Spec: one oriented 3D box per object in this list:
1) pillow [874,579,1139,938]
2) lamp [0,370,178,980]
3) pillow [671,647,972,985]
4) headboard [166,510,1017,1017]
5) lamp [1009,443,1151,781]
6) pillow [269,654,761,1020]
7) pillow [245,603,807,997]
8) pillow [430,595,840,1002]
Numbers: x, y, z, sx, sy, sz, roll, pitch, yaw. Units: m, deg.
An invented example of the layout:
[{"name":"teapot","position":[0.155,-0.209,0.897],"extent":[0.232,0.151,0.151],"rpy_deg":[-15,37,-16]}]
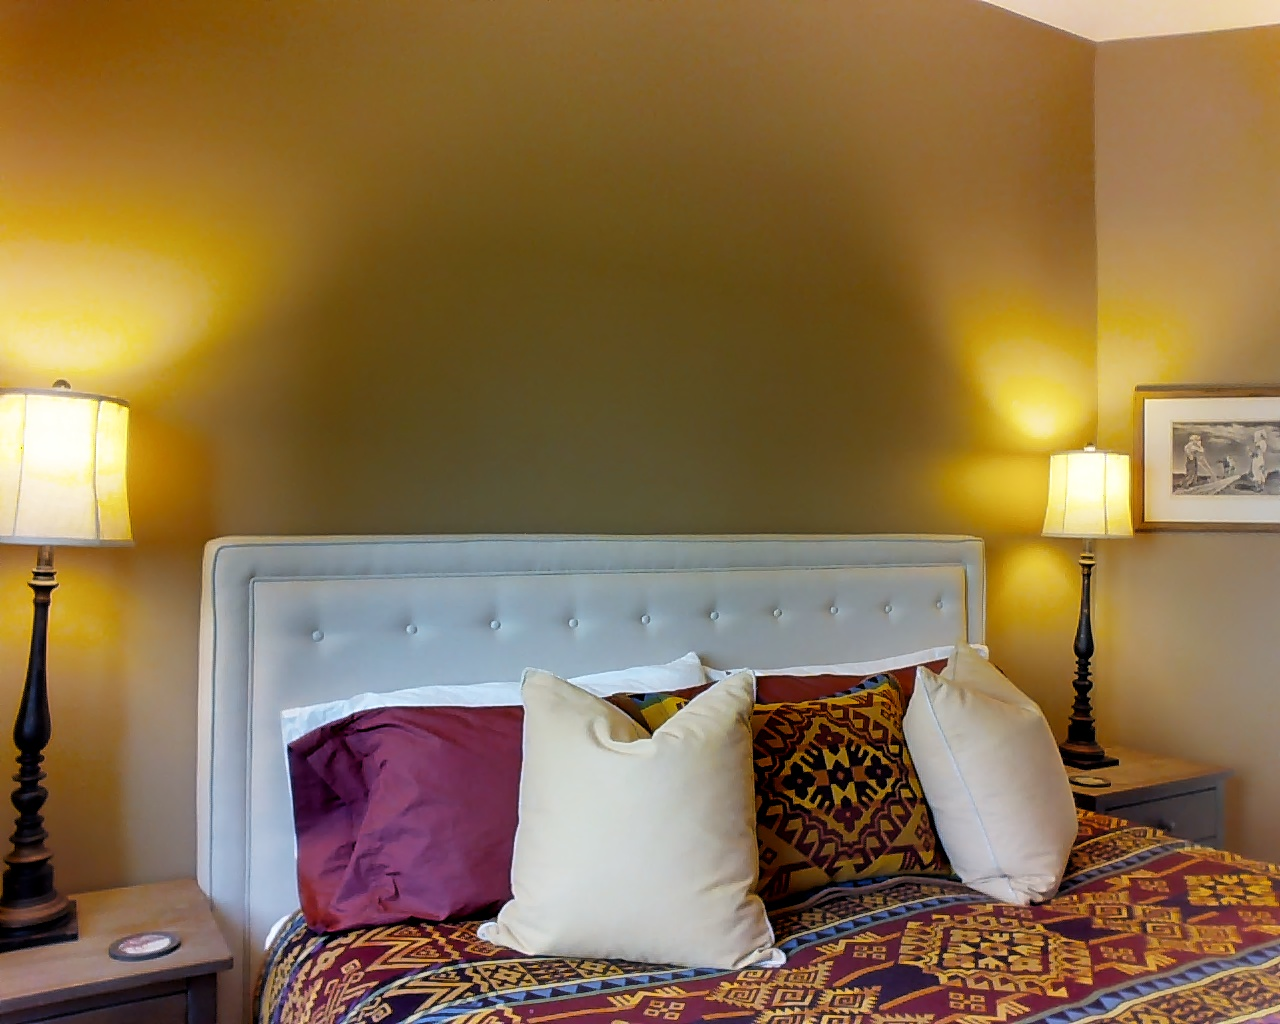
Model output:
[{"name":"pillow","position":[0.800,0.540,2.290],"extent":[0.320,0.570,0.540],"rpy_deg":[17,-17,29]},{"name":"lamp","position":[-1.010,0.260,1.880],"extent":[0.300,0.960,0.330],"rpy_deg":[2,-1,-30]},{"name":"pillow","position":[0.360,0.580,2.060],"extent":[0.440,0.500,0.170],"rpy_deg":[27,-14,-27]},{"name":"headboard","position":[0.080,0.490,2.560],"extent":[2.190,0.920,0.140],"rpy_deg":[2,-1,-30]},{"name":"lamp","position":[1.340,0.290,3.270],"extent":[0.260,0.970,0.290],"rpy_deg":[2,-1,-31]},{"name":"pillow","position":[-0.220,0.630,2.270],"extent":[1.040,0.600,0.170],"rpy_deg":[2,-1,-30]},{"name":"pillow","position":[-0.180,0.570,2.080],"extent":[0.970,0.450,0.270],"rpy_deg":[27,-14,-28]},{"name":"pillow","position":[0.000,0.480,1.880],"extent":[0.540,0.500,0.300],"rpy_deg":[17,-10,4]}]
